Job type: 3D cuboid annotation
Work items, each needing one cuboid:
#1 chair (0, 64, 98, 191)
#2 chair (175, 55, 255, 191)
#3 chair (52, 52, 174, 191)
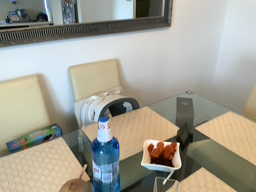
[{"bbox_3d":[-0.500,0.410,1.200,0.420,0.990,0.590,-17,32,-33],"label":"chair"},{"bbox_3d":[0.750,0.310,1.430,0.580,1.010,0.450,-15,30,-29],"label":"chair"},{"bbox_3d":[-0.120,0.290,1.450,0.460,1.000,0.590,-17,32,-33],"label":"chair"}]
